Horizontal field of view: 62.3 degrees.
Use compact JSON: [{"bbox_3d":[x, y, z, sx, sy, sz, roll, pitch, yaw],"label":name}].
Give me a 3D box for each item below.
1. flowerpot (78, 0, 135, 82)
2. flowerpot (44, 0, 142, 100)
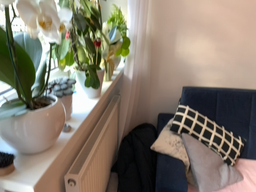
[{"bbox_3d":[-0.130,-0.450,1.520,0.310,0.600,0.410,3,20,6],"label":"flowerpot"},{"bbox_3d":[-0.140,-0.380,1.080,0.390,0.690,0.380,4,20,6],"label":"flowerpot"}]
